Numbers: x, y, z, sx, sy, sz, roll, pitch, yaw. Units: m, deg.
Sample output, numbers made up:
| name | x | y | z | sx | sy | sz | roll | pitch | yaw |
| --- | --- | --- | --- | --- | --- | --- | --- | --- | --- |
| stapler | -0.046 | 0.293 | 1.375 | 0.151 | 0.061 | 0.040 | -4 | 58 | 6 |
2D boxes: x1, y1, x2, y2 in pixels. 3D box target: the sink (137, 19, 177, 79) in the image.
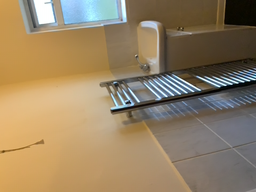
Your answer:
| name | x | y | z | sx | sy | sz | roll | pitch | yaw |
| --- | --- | --- | --- | --- | --- | --- | --- | --- | --- |
| sink | 0.240 | -0.440 | 1.870 | 0.520 | 0.160 | 0.430 | -124 | 26 | -65 |
